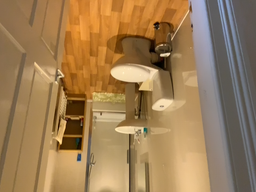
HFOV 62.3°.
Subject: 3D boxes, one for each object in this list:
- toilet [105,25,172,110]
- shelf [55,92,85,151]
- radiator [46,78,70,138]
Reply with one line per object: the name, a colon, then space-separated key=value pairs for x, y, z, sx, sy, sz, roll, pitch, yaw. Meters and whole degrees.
toilet: x=0.090 y=-0.300 z=2.410 sx=0.620 sy=0.780 sz=0.470 roll=4 pitch=160 yaw=-10
shelf: x=-1.060 y=0.470 z=3.980 sx=0.430 sy=1.050 sz=0.270 roll=4 pitch=160 yaw=-11
radiator: x=-1.110 y=0.220 z=3.440 sx=0.200 sy=0.810 sz=0.660 roll=3 pitch=160 yaw=-8
